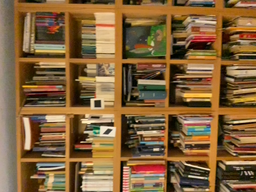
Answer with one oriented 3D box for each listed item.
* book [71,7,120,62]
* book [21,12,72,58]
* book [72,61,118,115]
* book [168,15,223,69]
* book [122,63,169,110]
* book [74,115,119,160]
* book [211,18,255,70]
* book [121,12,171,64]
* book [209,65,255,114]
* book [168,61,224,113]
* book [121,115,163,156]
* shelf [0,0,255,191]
[{"bbox_3d":[-0.260,-0.500,1.800,0.320,0.370,0.370,178,92,-87],"label":"book"},{"bbox_3d":[-0.640,-0.480,1.690,0.110,0.360,0.330,145,125,-86],"label":"book"},{"bbox_3d":[-0.270,-0.070,1.860,0.410,0.350,0.420,-134,44,-85],"label":"book"},{"bbox_3d":[0.570,-0.450,1.850,0.310,0.370,0.380,-160,70,-86],"label":"book"},{"bbox_3d":[0.140,-0.080,1.850,0.280,0.370,0.380,-152,62,-86],"label":"book"},{"bbox_3d":[-0.260,0.350,1.850,0.300,0.360,0.300,-112,23,-81],"label":"book"},{"bbox_3d":[0.990,-0.440,1.870,0.300,0.380,0.380,-169,79,-87],"label":"book"},{"bbox_3d":[0.140,-0.480,1.830,0.300,0.380,0.360,-160,70,-86],"label":"book"},{"bbox_3d":[0.990,-0.070,1.880,0.330,0.390,0.390,-114,24,-82],"label":"book"},{"bbox_3d":[0.570,-0.080,1.850,0.320,0.360,0.410,-134,44,-85],"label":"book"},{"bbox_3d":[0.110,0.340,1.890,0.310,0.330,0.300,-169,79,-87],"label":"book"},{"bbox_3d":[0.240,0.700,1.980,0.480,2.480,4.360,-129,40,-85],"label":"shelf"}]
